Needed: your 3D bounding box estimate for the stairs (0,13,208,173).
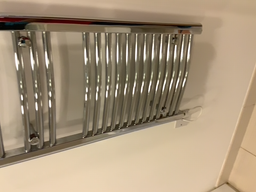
[{"bbox_3d":[-0.040,-0.040,0.770,0.040,0.860,0.440,29,122,52],"label":"stairs"}]
